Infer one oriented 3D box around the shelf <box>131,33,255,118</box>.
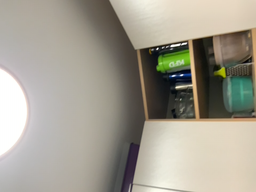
[{"bbox_3d":[0.570,-0.120,1.260,0.460,0.960,0.390,-19,-76,-63],"label":"shelf"}]
